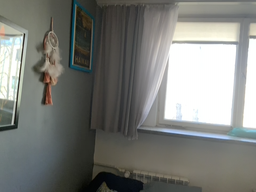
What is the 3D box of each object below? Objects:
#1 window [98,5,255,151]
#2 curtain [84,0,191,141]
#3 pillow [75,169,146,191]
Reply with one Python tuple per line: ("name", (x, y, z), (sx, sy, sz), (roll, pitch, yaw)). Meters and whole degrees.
("window", (0.840, -0.200, 2.220), (2.240, 1.400, 0.240), (4, 1, 10))
("curtain", (0.080, -0.280, 2.130), (0.960, 1.330, 0.140), (4, 1, 11))
("pillow", (-0.150, 0.910, 2.110), (0.610, 0.130, 0.440), (4, 1, 10))
